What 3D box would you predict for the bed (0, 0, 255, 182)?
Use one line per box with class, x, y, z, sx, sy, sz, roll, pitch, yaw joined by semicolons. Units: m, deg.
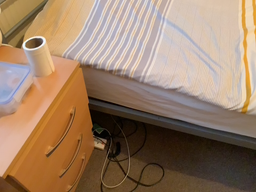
bed;0.530;-0.300;1.330;2.110;0.540;1.330;13;51;11
